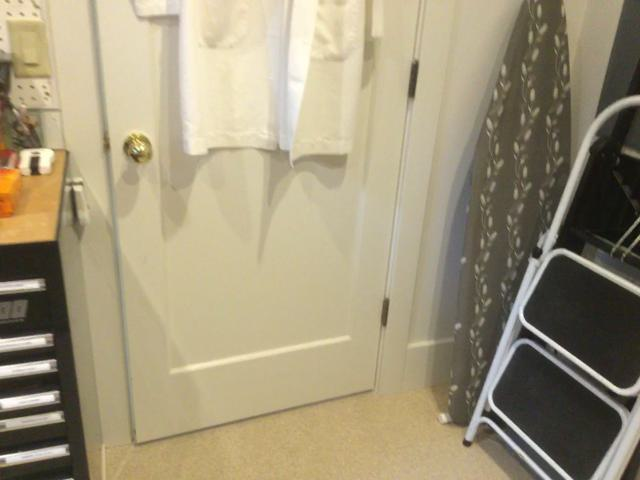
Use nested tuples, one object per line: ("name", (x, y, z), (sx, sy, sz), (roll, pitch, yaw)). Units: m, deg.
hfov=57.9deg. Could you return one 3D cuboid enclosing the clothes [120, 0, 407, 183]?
("clothes", (-0.110, -0.640, 1.260), (0.630, 1.000, 0.140), (-5, 25, -20))
